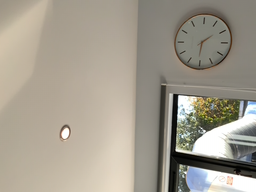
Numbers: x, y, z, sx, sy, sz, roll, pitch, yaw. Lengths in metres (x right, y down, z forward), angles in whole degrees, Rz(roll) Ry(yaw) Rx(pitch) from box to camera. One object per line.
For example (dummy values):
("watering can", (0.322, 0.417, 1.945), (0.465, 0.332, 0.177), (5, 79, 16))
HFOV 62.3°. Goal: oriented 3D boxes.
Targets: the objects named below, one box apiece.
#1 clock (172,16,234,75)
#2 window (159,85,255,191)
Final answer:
("clock", (0.610, -0.420, 1.770), (0.040, 0.440, 0.450), (-24, -62, -66))
("window", (1.080, 0.670, 2.150), (0.190, 1.460, 1.440), (-31, -55, -64))
